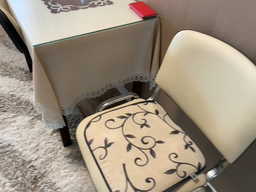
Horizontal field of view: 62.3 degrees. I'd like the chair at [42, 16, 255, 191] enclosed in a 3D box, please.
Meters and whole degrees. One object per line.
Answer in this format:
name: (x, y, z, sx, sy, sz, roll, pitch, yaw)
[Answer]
chair: (0.090, 0.210, 0.890, 0.560, 0.810, 0.500, -22, 51, -24)
